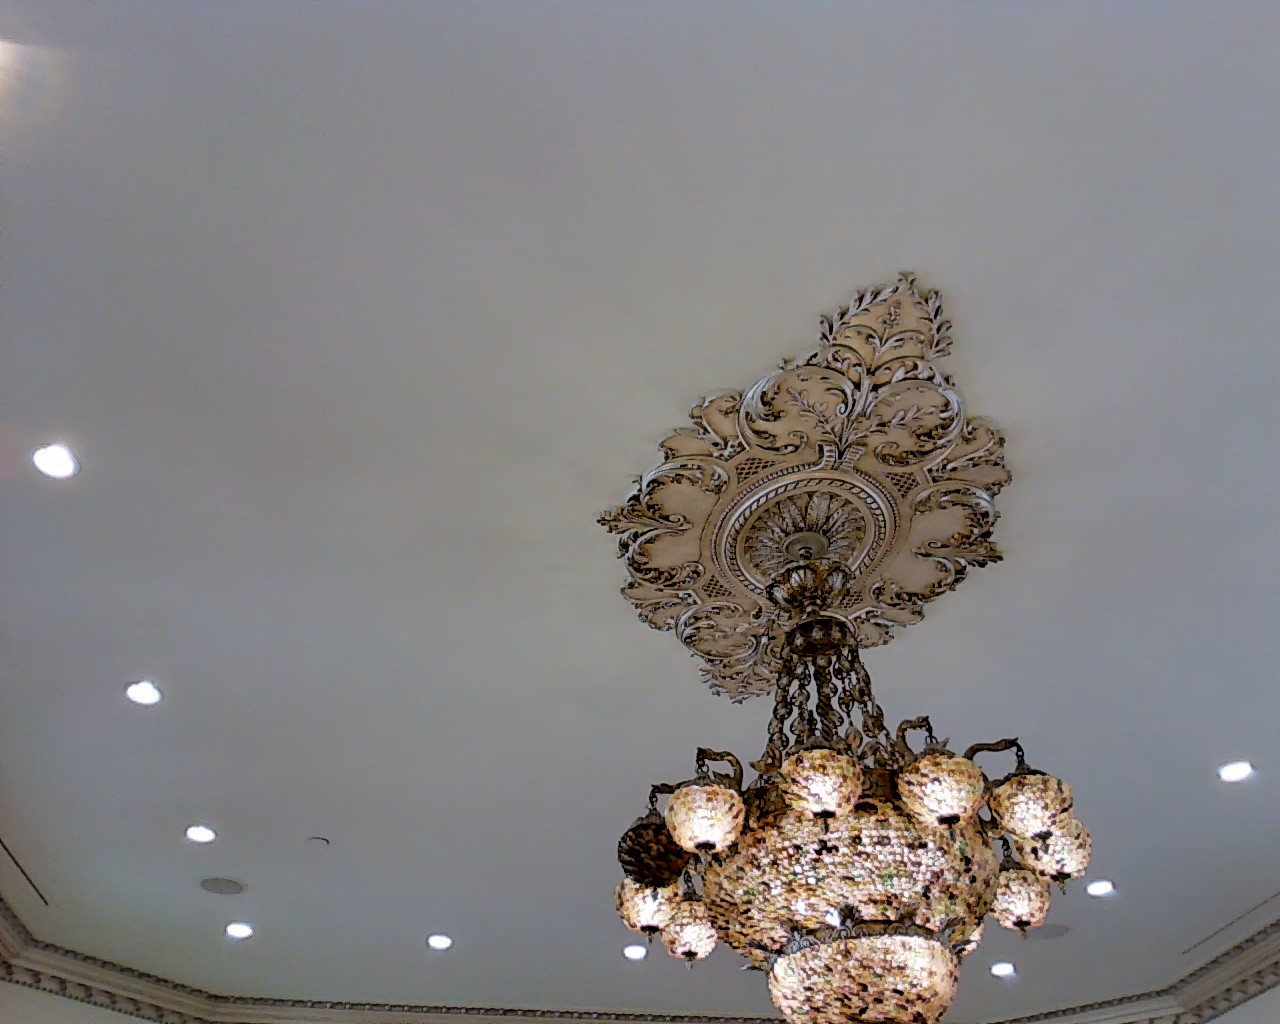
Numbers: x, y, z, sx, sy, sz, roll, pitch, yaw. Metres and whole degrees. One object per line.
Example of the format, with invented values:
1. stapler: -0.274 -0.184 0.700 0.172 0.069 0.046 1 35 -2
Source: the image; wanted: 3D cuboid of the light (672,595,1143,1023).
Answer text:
1. light: 0.470 0.800 2.400 0.650 0.740 0.980 5 -41 -5
